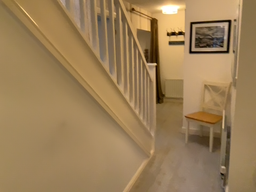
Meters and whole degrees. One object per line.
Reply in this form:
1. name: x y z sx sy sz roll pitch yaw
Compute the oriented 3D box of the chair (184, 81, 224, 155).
1. chair: 1.150 0.290 3.190 0.460 0.960 0.510 5 14 25
